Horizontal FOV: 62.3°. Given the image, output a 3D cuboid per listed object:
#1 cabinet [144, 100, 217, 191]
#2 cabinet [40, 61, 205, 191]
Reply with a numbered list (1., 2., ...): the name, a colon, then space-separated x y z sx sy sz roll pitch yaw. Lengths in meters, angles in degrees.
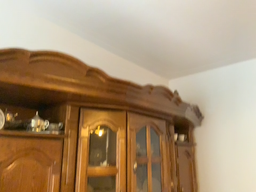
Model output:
1. cabinet: 0.590 0.770 2.410 0.580 1.300 0.550 -12 -18 38
2. cabinet: 0.050 0.600 1.720 0.660 1.300 1.230 -12 -18 38
